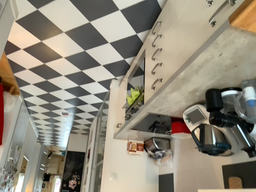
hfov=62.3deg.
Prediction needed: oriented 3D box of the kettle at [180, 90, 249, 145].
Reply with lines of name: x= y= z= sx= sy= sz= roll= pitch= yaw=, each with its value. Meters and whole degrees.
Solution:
kettle: x=0.600 y=0.170 z=1.530 sx=0.280 sy=0.270 sz=0.330 roll=11 pitch=154 yaw=-18
